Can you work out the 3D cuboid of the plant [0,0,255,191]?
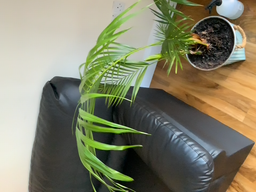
[{"bbox_3d":[0.150,-0.230,0.910,0.880,1.130,0.600,37,119,41],"label":"plant"}]
